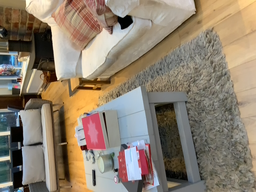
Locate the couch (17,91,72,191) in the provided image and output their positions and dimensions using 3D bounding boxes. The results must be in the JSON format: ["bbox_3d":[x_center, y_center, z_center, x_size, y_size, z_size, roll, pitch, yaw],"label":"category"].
[{"bbox_3d":[-1.720,0.940,4.270,0.870,0.750,1.910,-21,75,57],"label":"couch"}]

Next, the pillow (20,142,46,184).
[{"bbox_3d":[-1.890,1.320,4.230,0.150,0.390,0.740,145,118,-72],"label":"pillow"}]

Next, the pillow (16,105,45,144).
[{"bbox_3d":[-1.990,0.580,4.330,0.150,0.450,0.720,92,169,-81],"label":"pillow"}]
